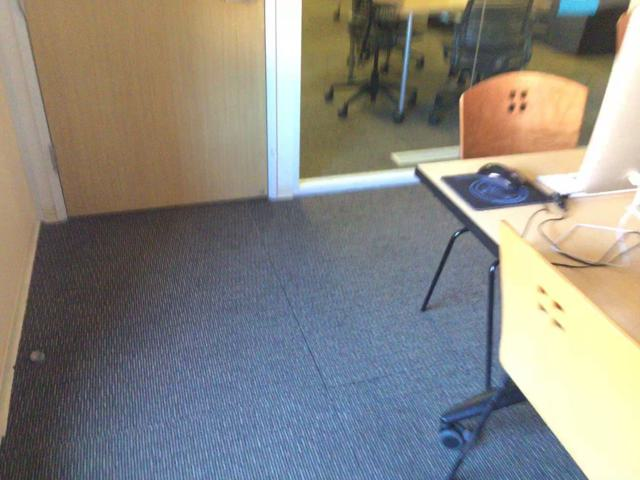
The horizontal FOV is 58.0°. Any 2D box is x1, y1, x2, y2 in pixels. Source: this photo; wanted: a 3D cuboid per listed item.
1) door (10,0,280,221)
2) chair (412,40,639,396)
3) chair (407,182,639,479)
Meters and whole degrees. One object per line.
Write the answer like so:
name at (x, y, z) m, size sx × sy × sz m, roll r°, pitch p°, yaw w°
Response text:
door at (-0.640, -0.560, 2.360) m, size 0.910 × 0.910 × 0.110 m, roll -9°, pitch 33°, yaw -13°
chair at (0.650, -0.090, 1.740) m, size 0.480 × 0.830 × 0.600 m, roll -9°, pitch 33°, yaw -13°
chair at (0.450, 0.400, 1.090) m, size 0.370 × 0.860 × 0.460 m, roll -9°, pitch 33°, yaw -13°
